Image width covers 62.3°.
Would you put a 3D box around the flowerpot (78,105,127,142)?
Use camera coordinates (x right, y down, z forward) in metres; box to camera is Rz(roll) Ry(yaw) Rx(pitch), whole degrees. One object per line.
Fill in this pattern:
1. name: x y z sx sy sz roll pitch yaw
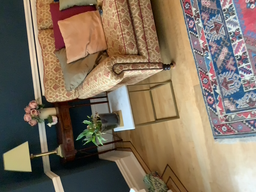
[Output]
1. flowerpot: -0.210 0.220 1.720 0.220 0.310 0.240 -17 80 58

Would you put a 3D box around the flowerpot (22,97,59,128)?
1. flowerpot: -0.990 0.190 2.400 0.220 0.330 0.280 -26 73 57

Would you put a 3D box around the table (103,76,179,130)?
1. table: 0.100 0.060 1.810 0.370 0.460 0.360 -21 77 58

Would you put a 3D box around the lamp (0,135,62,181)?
1. lamp: -1.060 0.630 2.260 0.330 0.600 0.310 -10 86 59

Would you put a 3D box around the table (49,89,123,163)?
1. table: -0.520 0.340 2.620 0.340 0.740 0.750 -20 78 58
